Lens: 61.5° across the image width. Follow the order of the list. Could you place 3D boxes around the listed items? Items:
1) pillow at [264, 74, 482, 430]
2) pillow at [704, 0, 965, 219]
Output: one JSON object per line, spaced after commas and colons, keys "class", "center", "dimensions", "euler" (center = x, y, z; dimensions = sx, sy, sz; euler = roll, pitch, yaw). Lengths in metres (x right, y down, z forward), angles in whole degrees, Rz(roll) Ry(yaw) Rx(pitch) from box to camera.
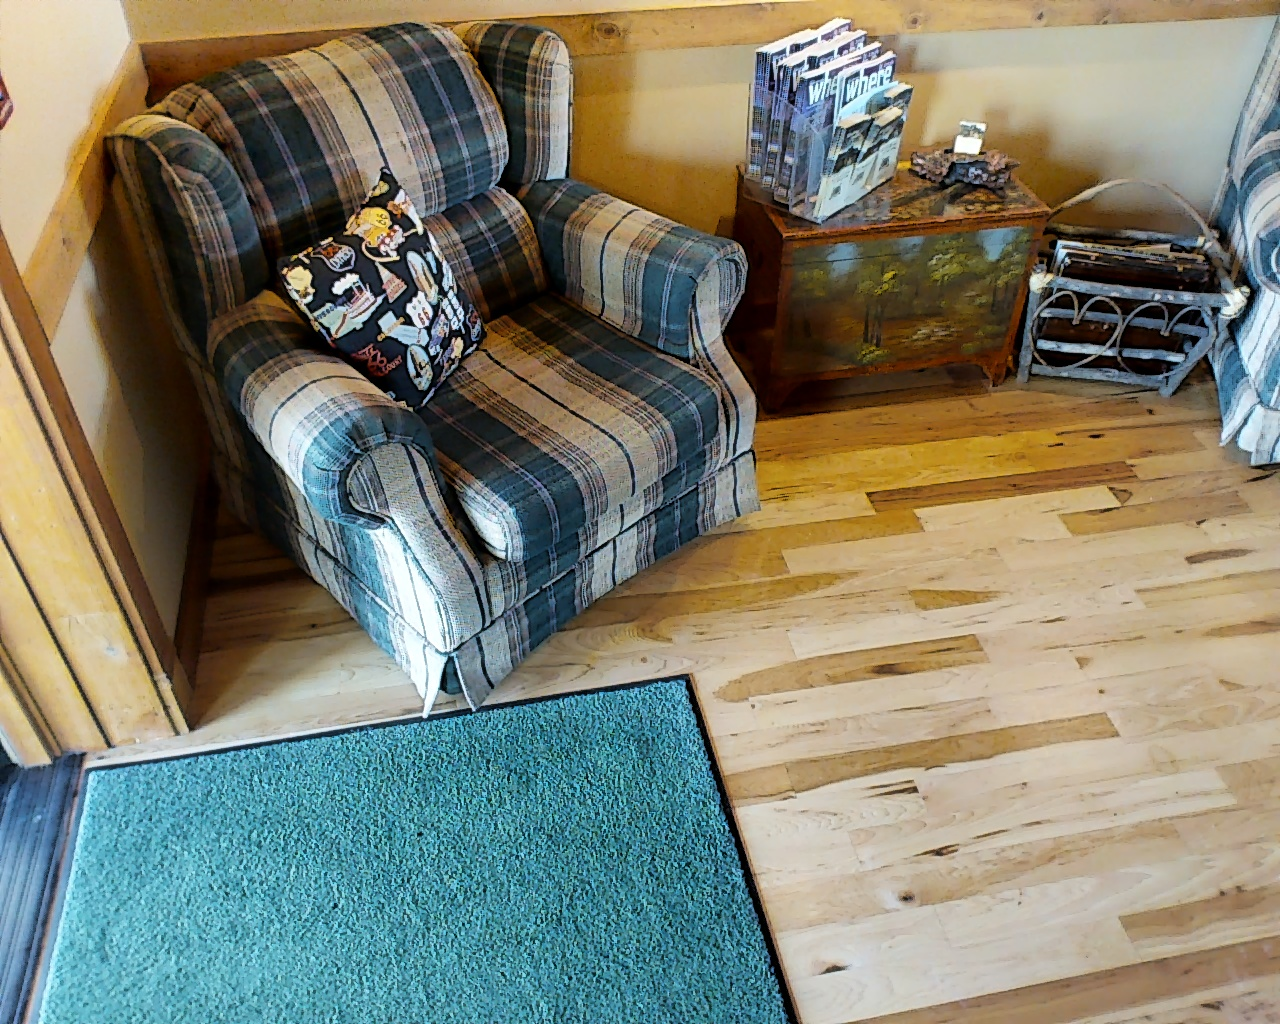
{"class": "pillow", "center": [-0.460, -0.460, 1.950], "dimensions": [0.210, 0.320, 0.500], "euler": [14, 70, -2]}
{"class": "pillow", "center": [0.440, -0.950, 2.490], "dimensions": [0.440, 0.310, 0.370], "euler": [-33, 50, -32]}
